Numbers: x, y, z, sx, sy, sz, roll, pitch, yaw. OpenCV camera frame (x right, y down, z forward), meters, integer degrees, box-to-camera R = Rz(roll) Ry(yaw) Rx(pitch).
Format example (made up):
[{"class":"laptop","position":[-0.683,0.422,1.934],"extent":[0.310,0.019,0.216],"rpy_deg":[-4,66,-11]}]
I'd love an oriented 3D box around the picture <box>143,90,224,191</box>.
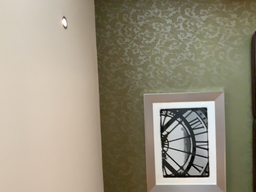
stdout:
[{"class":"picture","position":[0.550,0.470,2.120],"extent":[0.030,0.750,1.020],"rpy_deg":[-25,-67,-83]}]
